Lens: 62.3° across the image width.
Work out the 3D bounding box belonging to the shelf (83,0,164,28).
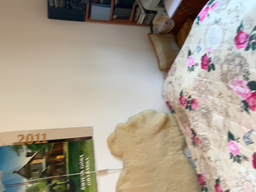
[{"bbox_3d":[-0.070,-0.980,2.140,0.340,0.700,0.370,123,141,-57],"label":"shelf"}]

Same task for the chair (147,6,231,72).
[{"bbox_3d":[0.570,-0.540,2.090,0.350,0.580,0.480,121,142,-56],"label":"chair"}]
